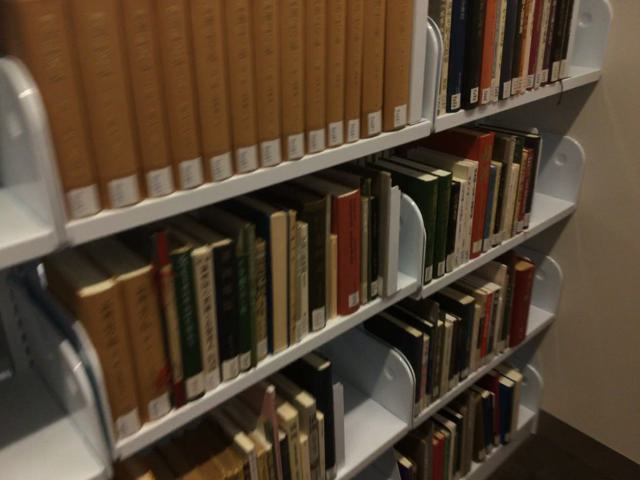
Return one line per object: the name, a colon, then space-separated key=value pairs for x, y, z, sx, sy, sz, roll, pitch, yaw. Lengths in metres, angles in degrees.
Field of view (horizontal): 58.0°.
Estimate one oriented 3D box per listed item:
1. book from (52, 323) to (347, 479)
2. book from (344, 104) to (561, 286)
book: x=-0.180 y=0.370 z=0.990 sx=0.420 sy=0.250 sz=0.220 roll=-22 pitch=32 yaw=-39
book: x=0.280 y=-0.120 z=1.210 sx=0.430 sy=0.240 sz=0.220 roll=-22 pitch=32 yaw=-39
